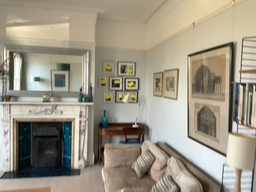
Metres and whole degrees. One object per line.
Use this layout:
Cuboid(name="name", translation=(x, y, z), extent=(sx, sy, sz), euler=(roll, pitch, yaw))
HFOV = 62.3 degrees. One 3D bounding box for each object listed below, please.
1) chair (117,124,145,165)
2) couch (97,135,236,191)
Cuboid(name="chair", translation=(0.050, 1.020, 4.580), extent=(0.480, 0.770, 0.450), euler=(1, 4, -11))
Cuboid(name="couch", translation=(0.200, 1.140, 2.770), extent=(1.160, 0.780, 2.010), euler=(1, 4, -9))
